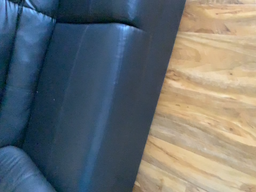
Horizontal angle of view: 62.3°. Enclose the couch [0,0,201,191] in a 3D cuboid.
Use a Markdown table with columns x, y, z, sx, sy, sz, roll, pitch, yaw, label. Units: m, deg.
| x | y | z | sx | sy | sz | roll | pitch | yaw | label |
| --- | --- | --- | --- | --- | --- | --- | --- | --- | --- |
| -0.330 | -0.350 | 0.950 | 0.930 | 0.910 | 1.950 | 16 | 94 | 34 | couch |
